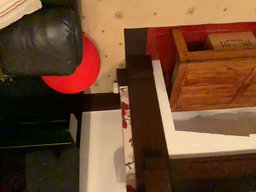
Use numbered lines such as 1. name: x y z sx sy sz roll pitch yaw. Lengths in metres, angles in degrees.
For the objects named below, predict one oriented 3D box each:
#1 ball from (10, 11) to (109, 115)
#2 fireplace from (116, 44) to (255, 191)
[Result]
1. ball: -0.430 -0.210 1.550 0.460 0.430 0.540 -9 145 5
2. fireplace: 0.940 0.210 1.630 1.980 1.160 0.530 -5 145 -1
